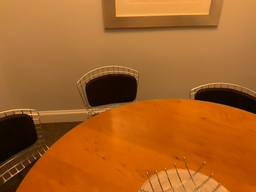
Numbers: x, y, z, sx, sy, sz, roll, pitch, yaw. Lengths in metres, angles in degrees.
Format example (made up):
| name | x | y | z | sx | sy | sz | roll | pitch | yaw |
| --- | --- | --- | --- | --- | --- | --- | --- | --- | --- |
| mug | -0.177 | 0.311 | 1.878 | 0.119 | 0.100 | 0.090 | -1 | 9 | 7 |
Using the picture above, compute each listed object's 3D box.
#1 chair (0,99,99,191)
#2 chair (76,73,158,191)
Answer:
| name | x | y | z | sx | sy | sz | roll | pitch | yaw |
| --- | --- | --- | --- | --- | --- | --- | --- | --- | --- |
| chair | -0.540 | 0.520 | 1.220 | 0.590 | 0.730 | 0.460 | 25 | 40 | 34 |
| chair | -0.100 | 0.280 | 1.620 | 0.460 | 0.700 | 0.580 | -5 | 32 | -8 |
